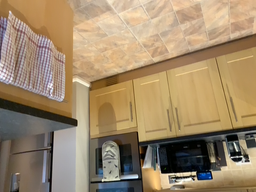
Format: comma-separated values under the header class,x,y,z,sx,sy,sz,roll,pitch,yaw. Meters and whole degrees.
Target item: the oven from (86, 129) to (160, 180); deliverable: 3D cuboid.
class,x,y,z,sx,sy,sz,roll,pitch,yaw
oven,-0.040,0.710,2.510,0.620,0.460,0.660,-13,159,22
